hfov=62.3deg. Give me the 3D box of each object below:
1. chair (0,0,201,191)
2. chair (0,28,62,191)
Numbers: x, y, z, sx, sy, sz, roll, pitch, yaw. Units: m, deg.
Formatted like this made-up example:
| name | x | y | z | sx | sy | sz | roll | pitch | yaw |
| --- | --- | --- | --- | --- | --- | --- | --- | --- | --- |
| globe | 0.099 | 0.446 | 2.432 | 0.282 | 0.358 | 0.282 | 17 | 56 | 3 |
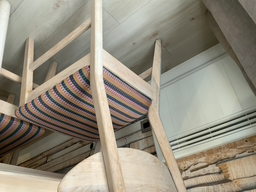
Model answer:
| name | x | y | z | sx | sy | sz | roll | pitch | yaw |
| --- | --- | --- | --- | --- | --- | --- | --- | --- | --- |
| chair | -0.140 | 0.060 | 0.930 | 0.530 | 0.860 | 0.550 | -28 | 140 | 29 |
| chair | -0.740 | 0.150 | 0.990 | 0.520 | 0.840 | 0.560 | -29 | 140 | 30 |
